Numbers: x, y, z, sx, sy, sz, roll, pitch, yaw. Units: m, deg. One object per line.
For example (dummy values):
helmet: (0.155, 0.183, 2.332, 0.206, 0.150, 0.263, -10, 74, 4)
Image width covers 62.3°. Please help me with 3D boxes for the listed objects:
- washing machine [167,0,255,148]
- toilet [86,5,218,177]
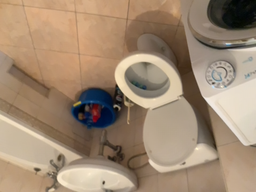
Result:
washing machine: (0.580, -0.340, 0.900, 0.640, 0.840, 0.480, -26, 131, 30)
toilet: (0.160, -0.030, 1.320, 0.390, 0.810, 0.590, -27, 131, 31)
